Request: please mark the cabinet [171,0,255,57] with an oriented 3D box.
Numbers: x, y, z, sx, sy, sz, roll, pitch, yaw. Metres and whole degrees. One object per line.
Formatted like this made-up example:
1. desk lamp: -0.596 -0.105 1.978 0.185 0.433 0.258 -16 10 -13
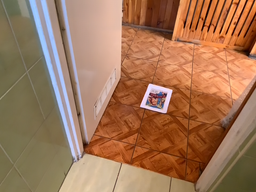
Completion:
1. cabinet: 0.940 -0.880 2.110 0.840 0.840 0.190 14 46 9
